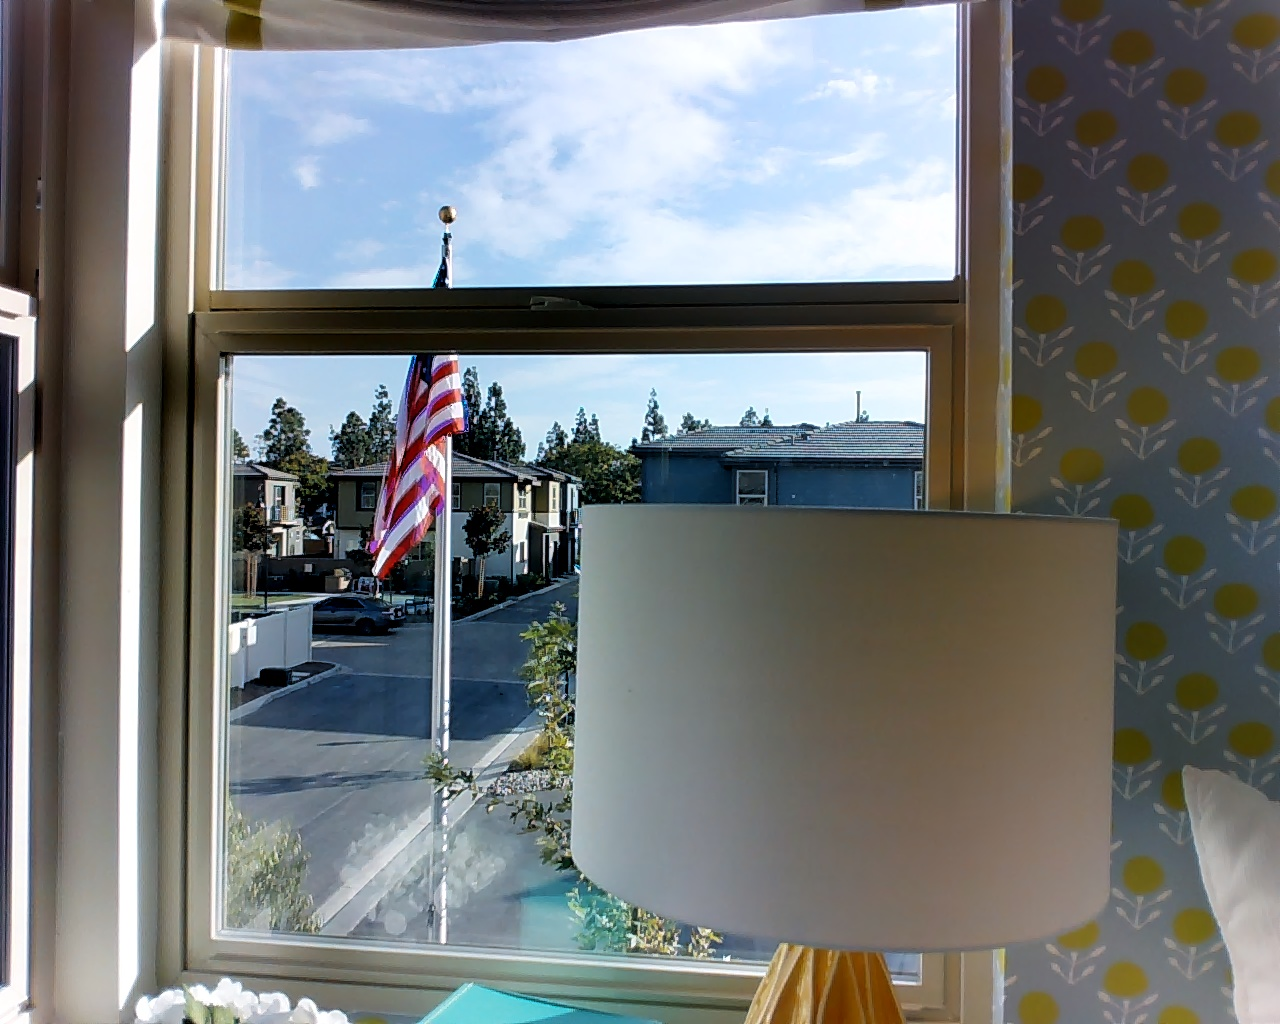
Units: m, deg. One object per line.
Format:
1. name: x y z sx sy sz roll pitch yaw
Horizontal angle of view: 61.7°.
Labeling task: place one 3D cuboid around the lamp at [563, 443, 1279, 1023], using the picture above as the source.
1. lamp: 0.190 0.330 0.810 0.440 0.730 0.310 1 0 -15
